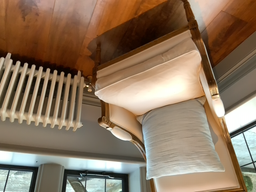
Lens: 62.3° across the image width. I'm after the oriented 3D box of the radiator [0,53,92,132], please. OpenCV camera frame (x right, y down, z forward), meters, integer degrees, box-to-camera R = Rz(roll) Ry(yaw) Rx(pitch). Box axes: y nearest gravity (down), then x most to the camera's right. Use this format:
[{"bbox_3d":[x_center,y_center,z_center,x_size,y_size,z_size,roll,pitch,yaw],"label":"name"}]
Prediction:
[{"bbox_3d":[-1.070,-0.120,1.290,1.690,0.430,0.120,13,144,-21],"label":"radiator"}]
